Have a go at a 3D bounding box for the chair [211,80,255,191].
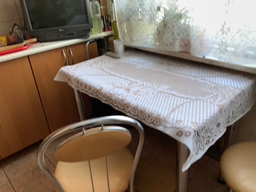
[{"bbox_3d":[0.650,0.380,0.960,0.410,0.780,0.390,7,30,17],"label":"chair"}]
